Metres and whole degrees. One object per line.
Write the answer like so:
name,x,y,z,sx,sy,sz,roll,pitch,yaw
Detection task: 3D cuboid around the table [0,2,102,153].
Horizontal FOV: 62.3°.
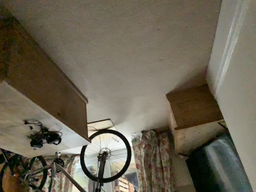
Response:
table,-0.670,0.010,1.500,0.590,0.450,1.070,-15,152,8
